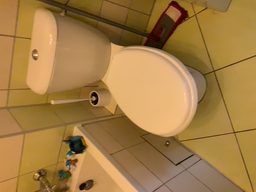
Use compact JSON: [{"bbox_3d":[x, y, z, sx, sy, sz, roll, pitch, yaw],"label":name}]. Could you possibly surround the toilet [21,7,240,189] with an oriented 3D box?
[{"bbox_3d":[0.020,-0.070,1.040,0.680,0.740,0.380,35,116,35],"label":"toilet"}]
